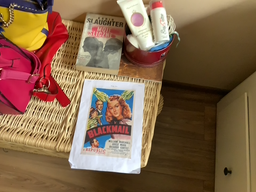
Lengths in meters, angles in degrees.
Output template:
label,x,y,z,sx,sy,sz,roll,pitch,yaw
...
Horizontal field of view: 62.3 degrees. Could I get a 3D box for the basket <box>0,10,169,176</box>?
label,x,y,z,sx,sy,sz,roll,pitch,yaw
basket,-0.340,0.010,0.900,0.890,0.440,0.470,10,69,1
